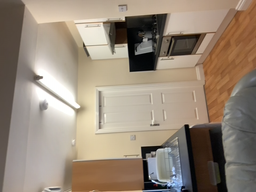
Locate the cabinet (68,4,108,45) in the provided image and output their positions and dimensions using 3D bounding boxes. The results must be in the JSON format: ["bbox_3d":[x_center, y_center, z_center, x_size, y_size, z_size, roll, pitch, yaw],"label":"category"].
[{"bbox_3d":[-0.600,-1.100,3.340,0.610,0.500,0.290,82,-175,-76],"label":"cabinet"}]

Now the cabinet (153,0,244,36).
[{"bbox_3d":[0.830,-1.190,2.720,0.520,0.940,0.580,82,-175,-76],"label":"cabinet"}]
